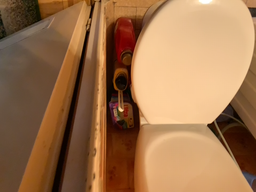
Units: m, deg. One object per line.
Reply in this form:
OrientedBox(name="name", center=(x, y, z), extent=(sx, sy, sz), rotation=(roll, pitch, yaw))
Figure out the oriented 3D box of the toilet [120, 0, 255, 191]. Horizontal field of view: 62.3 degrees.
OrientedBox(name="toilet", center=(0.200, -0.020, 0.770), extent=(0.400, 0.740, 0.660), rotation=(0, 127, -5))
